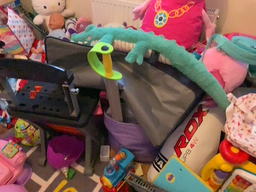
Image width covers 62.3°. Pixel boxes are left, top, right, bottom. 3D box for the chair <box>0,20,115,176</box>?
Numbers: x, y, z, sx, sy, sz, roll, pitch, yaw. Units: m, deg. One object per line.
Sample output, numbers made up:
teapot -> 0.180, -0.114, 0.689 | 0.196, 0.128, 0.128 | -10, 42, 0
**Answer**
chair -> -0.370, 0.040, 1.170 | 0.470, 0.740, 0.400 | 6, 44, 8
